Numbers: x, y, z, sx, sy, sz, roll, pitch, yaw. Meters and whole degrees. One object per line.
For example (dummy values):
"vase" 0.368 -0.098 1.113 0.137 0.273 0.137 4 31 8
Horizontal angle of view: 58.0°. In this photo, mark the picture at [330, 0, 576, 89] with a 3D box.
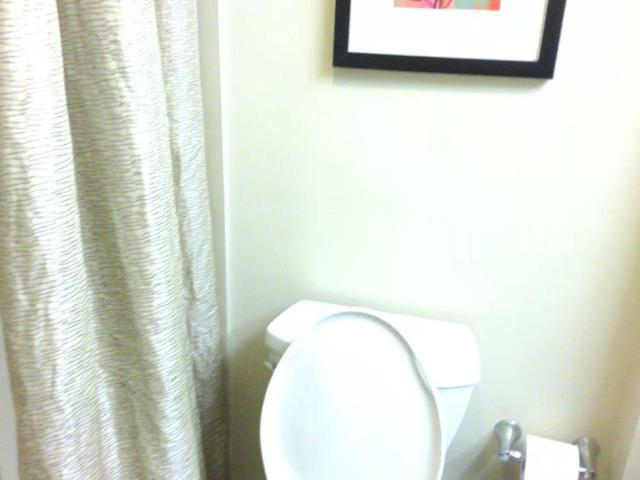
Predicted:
"picture" 0.230 -0.510 1.000 0.420 0.460 0.050 7 22 16
